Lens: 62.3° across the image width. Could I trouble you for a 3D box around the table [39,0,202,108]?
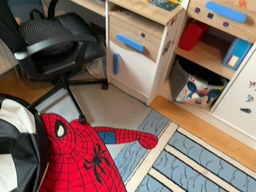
[{"bbox_3d":[-0.100,-0.550,1.610,1.010,0.730,0.520,32,55,18],"label":"table"}]
